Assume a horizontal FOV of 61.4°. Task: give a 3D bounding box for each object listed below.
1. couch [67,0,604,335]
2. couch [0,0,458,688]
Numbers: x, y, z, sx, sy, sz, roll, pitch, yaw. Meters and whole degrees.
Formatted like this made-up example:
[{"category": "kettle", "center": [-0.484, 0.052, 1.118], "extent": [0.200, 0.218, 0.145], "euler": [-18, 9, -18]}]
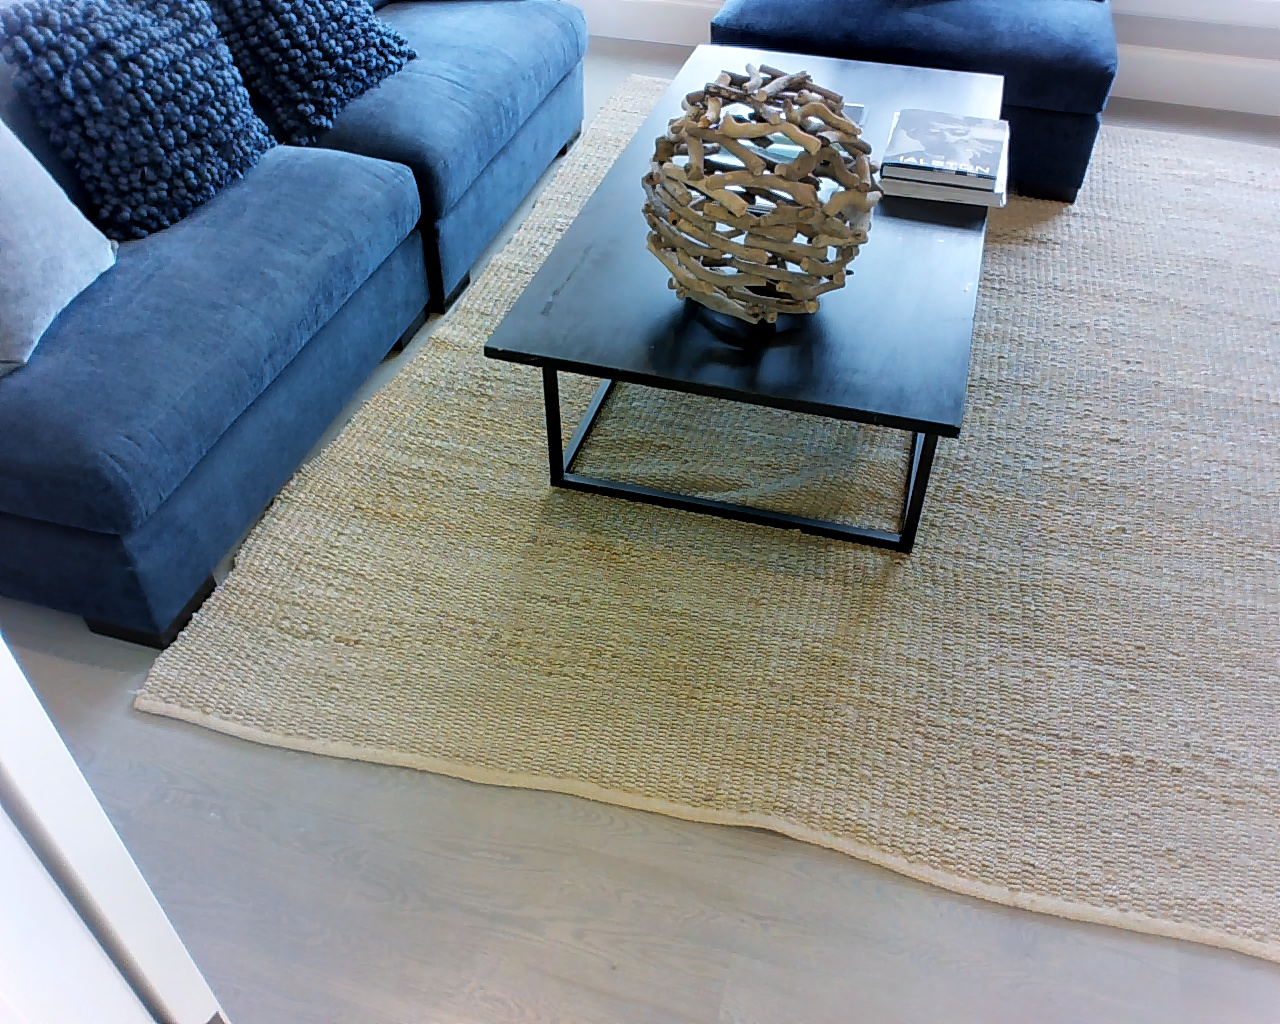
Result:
[{"category": "couch", "center": [-0.740, -1.320, 3.130], "extent": [0.880, 0.900, 1.340], "euler": [12, 43, 12]}, {"category": "couch", "center": [-1.140, -0.490, 2.240], "extent": [1.040, 0.910, 1.210], "euler": [10, 43, 10]}]
